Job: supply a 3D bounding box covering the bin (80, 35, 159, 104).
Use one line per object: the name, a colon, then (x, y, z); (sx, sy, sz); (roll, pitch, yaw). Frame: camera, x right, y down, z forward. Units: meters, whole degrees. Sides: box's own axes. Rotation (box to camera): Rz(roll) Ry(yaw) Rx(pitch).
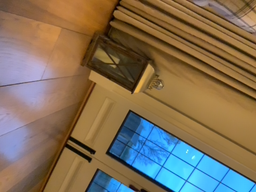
bin: (-0.060, -0.210, 1.590); (0.290, 0.470, 0.230); (-62, 175, 20)
